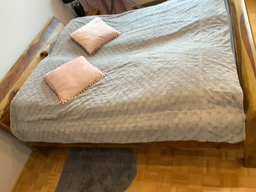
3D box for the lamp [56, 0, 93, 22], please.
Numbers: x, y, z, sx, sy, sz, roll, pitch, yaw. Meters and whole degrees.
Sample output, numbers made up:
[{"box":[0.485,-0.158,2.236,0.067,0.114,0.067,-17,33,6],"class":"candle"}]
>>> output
[{"box":[-0.820,-1.440,3.200,0.300,0.440,0.340,-6,47,25],"class":"lamp"}]
